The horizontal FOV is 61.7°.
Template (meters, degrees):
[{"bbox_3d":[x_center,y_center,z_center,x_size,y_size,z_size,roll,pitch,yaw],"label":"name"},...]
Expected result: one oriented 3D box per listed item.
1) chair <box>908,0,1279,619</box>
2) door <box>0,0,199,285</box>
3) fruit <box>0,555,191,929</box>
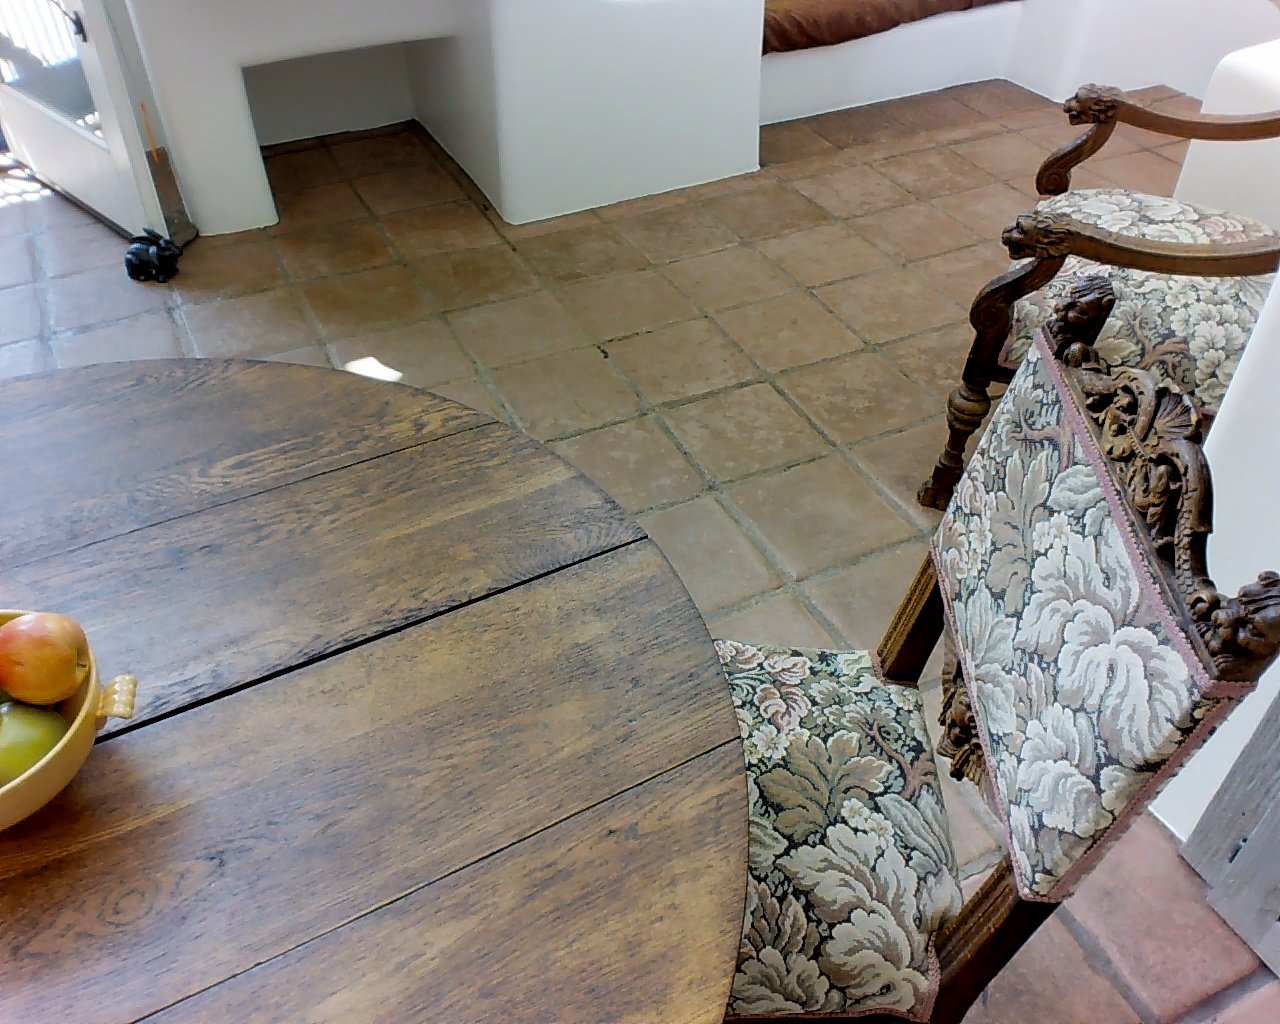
[{"bbox_3d":[1.040,-0.480,1.970,0.770,1.000,0.730,16,44,18],"label":"chair"},{"bbox_3d":[-1.590,-1.620,2.490,0.960,2.070,0.050,31,50,30],"label":"door"},{"bbox_3d":[-0.530,0.160,0.830,0.230,0.150,0.210,11,42,12],"label":"fruit"}]
